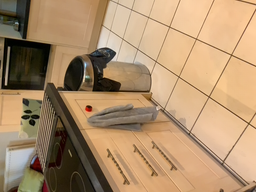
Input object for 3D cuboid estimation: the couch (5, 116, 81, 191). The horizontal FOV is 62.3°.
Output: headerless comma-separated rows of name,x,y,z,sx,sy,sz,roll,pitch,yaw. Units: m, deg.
couch,-1.460,1.300,3.470,0.710,0.820,1.770,41,122,45
